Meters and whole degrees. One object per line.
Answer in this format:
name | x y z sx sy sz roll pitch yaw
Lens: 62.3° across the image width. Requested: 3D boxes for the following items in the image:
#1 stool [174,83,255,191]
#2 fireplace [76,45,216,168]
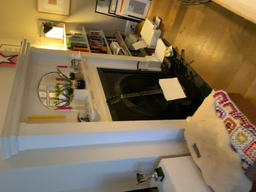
stool | 0.820 0.360 1.740 0.690 0.420 0.650 -115 33 -48
fireplace | 0.070 0.010 2.670 1.560 1.220 0.490 -113 31 -46
